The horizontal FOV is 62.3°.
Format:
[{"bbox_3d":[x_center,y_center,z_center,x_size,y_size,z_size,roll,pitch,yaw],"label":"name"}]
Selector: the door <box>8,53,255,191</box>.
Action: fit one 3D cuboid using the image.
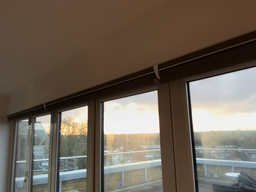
[{"bbox_3d":[-0.290,1.060,1.740,0.130,2.080,5.310,7,-13,-40],"label":"door"}]
